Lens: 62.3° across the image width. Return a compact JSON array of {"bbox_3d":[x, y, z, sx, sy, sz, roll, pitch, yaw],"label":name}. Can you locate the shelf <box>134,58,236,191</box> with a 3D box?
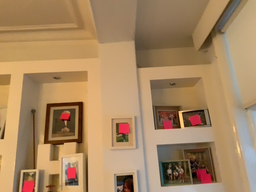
[{"bbox_3d":[0.430,0.620,1.610,0.610,1.870,0.260,-3,-18,-3],"label":"shelf"}]
